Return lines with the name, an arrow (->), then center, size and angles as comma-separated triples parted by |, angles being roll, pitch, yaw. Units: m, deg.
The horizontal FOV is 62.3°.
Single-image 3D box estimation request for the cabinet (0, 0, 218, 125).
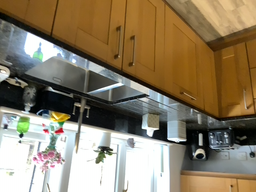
cabinet -> -0.200, -0.470, 1.460 | 0.610, 0.910, 2.450 | -13, 156, 42
